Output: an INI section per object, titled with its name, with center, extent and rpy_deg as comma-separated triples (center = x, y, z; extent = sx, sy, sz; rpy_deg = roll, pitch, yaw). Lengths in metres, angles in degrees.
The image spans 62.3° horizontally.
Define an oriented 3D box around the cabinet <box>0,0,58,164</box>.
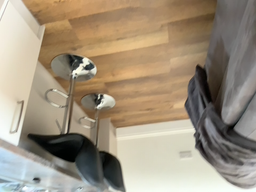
[cabinet]
center = -0.700, -0.150, 1.160
extent = 0.320, 0.910, 0.480
rpy_deg = -8, 149, 9
